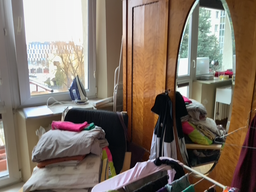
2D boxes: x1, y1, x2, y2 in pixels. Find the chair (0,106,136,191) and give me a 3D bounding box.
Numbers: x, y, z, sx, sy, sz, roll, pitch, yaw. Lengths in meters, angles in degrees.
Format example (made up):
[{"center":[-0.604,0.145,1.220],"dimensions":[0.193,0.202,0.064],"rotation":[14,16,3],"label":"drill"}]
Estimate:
[{"center":[-0.370,0.650,1.590],"dimensions":[0.720,0.920,0.850],"rotation":[3,13,9],"label":"chair"}]
